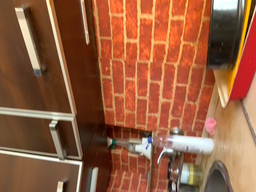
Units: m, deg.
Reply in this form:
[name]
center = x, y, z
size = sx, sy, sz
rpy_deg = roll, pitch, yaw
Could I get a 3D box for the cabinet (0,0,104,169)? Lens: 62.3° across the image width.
[cabinet]
center = -0.440, -0.160, 0.730
size = 0.350, 0.590, 0.710
rpy_deg = -73, -14, -53
